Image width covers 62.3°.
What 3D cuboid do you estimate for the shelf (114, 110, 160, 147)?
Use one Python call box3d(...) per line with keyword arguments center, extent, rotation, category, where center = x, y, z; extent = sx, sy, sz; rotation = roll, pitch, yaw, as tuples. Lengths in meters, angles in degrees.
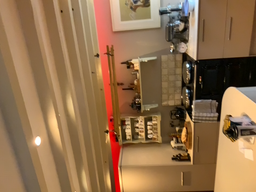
box3d(center=(0.190, 0.640, 4.150), extent=(0.160, 0.840, 0.700), rotation=(-85, -8, -69), category="shelf")
